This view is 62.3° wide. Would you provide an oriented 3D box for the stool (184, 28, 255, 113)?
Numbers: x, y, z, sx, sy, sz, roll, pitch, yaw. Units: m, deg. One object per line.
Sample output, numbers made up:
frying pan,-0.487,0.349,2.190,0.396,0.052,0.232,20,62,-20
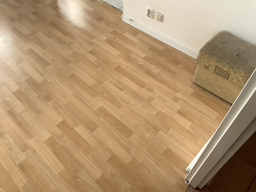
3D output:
stool,0.710,-0.190,1.550,0.410,0.370,0.310,36,60,25
